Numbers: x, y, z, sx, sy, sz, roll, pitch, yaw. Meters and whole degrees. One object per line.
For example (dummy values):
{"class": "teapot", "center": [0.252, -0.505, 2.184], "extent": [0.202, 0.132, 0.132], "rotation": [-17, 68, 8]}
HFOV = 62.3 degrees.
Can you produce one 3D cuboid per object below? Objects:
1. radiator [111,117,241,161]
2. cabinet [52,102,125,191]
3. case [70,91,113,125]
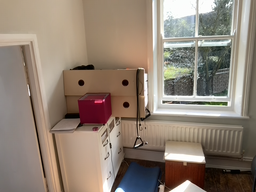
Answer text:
{"class": "radiator", "center": [0.570, 0.540, 2.740], "extent": [1.570, 0.460, 0.110], "rotation": [1, 16, 11]}
{"class": "cabinet", "center": [-0.380, 0.600, 2.510], "extent": [0.470, 0.790, 0.960], "rotation": [1, 16, 11]}
{"class": "case", "center": [-0.340, 0.110, 2.050], "extent": [0.320, 0.250, 0.250], "rotation": [1, 16, 12]}
